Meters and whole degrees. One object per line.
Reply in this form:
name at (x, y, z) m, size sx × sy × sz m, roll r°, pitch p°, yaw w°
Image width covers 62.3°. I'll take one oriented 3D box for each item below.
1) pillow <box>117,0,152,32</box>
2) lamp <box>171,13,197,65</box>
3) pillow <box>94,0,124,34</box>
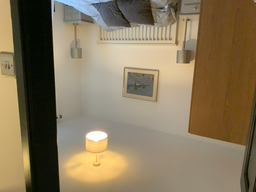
pillow at (0.070, -1.150, 2.870) m, size 0.410 × 0.400 × 0.150 m, roll 29°, pitch -115°, yaw 10°
lamp at (0.790, -0.790, 2.990) m, size 0.260 × 0.670 × 0.170 m, roll 9°, pitch -166°, yaw 29°
pillow at (-0.280, -1.190, 3.080) m, size 0.420 × 0.400 × 0.130 m, roll 36°, pitch -115°, yaw 14°
